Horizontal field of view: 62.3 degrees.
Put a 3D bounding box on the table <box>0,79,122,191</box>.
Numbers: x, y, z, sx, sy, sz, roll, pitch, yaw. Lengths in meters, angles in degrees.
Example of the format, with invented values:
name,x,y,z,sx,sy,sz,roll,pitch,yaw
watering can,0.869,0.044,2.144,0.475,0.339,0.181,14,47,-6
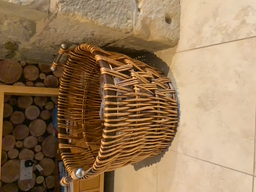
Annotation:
name,x,y,z,sx,sy,sz,roll,pitch,yaw
table,-0.510,0.550,1.350,0.490,0.760,1.220,-2,85,55

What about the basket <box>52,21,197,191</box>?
name,x,y,z,sx,sy,sz,roll,pitch,yaw
basket,-0.040,0.050,1.060,0.540,0.490,0.570,-2,85,55
